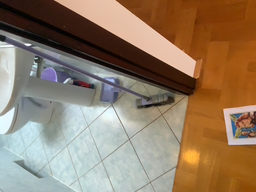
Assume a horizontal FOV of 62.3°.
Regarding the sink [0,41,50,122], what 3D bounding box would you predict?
[{"bbox_3d":[-0.830,-0.110,1.420,0.590,0.220,0.450,10,89,36],"label":"sink"}]
